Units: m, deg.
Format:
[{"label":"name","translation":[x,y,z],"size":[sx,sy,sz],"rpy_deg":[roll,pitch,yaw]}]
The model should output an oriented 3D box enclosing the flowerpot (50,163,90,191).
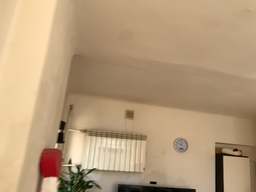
[{"label":"flowerpot","translation":[-0.850,1.580,2.900],"size":[0.430,1.230,0.300],"rpy_deg":[-8,-19,40]}]
